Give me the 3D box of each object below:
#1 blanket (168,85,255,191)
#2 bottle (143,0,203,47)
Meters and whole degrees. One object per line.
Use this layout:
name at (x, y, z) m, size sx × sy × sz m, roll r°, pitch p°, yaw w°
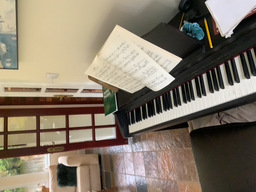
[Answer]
blanket at (0.650, 0.390, 1.590) m, size 0.510 × 0.350 × 0.830 m, roll -25°, pitch 67°, yaw 59°
bottle at (0.170, -0.290, 0.830) m, size 0.140 × 0.160 × 0.120 m, roll -35°, pitch 59°, yaw 57°
